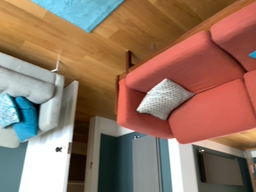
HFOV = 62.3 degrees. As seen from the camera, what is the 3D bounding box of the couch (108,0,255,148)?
[{"bbox_3d":[0.700,-0.190,1.550,0.840,0.760,1.630,21,147,-38],"label":"couch"}]
